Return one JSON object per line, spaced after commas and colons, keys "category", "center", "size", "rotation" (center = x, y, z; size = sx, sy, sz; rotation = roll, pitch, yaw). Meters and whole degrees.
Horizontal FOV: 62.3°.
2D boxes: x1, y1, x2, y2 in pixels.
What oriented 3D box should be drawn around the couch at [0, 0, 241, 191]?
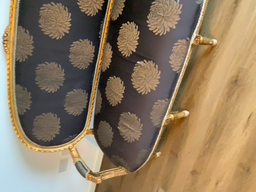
{"category": "couch", "center": [-0.100, -0.210, 1.340], "size": [0.810, 1.000, 1.620], "rotation": [34, 117, 40]}
